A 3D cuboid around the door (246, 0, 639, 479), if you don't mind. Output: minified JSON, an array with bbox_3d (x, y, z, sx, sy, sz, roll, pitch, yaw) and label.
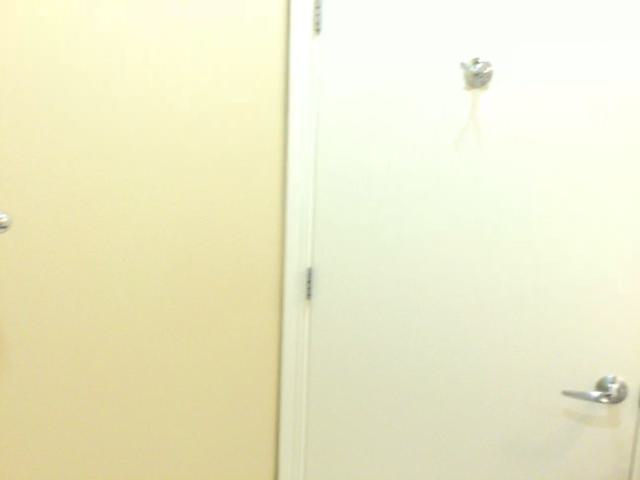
[{"bbox_3d":[0.320,0.280,1.460,1.030,1.880,0.160,8,9,25],"label":"door"}]
